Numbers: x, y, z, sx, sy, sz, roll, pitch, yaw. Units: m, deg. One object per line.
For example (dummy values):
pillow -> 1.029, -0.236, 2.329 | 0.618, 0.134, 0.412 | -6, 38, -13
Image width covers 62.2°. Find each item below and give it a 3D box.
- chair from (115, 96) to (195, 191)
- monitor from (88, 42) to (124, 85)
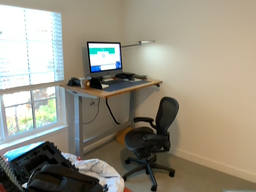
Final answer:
chair -> 0.260, 0.540, 2.650 | 0.760, 0.920, 0.730 | -1, 14, -9
monitor -> -0.270, -0.460, 2.880 | 0.050, 0.510, 0.610 | 7, 18, 35
